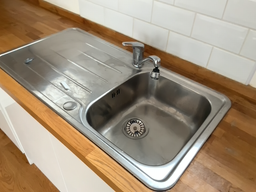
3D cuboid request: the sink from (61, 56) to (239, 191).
[{"bbox_3d":[0.100,0.100,0.830,0.420,0.190,0.520,30,48,27],"label":"sink"}]
